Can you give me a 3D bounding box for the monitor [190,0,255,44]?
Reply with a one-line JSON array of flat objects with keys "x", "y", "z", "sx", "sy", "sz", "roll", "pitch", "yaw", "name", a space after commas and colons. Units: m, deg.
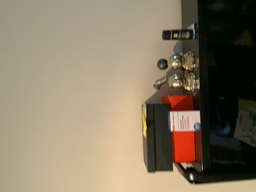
[{"x": 0.640, "y": -0.660, "z": 1.080, "sx": 0.040, "sy": 0.590, "sz": 0.750, "roll": -95, "pitch": 4, "yaw": -73, "name": "monitor"}]
